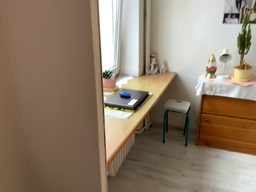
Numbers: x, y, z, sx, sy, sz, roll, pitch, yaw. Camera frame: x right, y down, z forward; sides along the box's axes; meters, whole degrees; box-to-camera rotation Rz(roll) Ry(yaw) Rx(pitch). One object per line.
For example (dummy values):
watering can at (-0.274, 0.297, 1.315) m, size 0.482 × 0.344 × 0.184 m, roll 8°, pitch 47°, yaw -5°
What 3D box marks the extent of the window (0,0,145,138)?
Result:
window at (-0.260, -0.820, 1.620) m, size 0.120 × 1.690 × 1.660 m, roll 10°, pitch 23°, yaw 26°
